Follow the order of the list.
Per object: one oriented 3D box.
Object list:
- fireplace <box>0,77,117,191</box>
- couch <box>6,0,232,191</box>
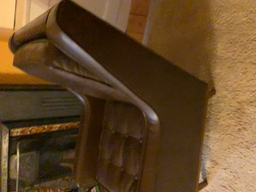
[{"bbox_3d":[-0.830,0.650,1.920,0.310,1.230,1.610,31,115,46],"label":"fireplace"},{"bbox_3d":[-0.060,0.160,1.150,0.730,0.930,0.940,9,99,51],"label":"couch"}]
